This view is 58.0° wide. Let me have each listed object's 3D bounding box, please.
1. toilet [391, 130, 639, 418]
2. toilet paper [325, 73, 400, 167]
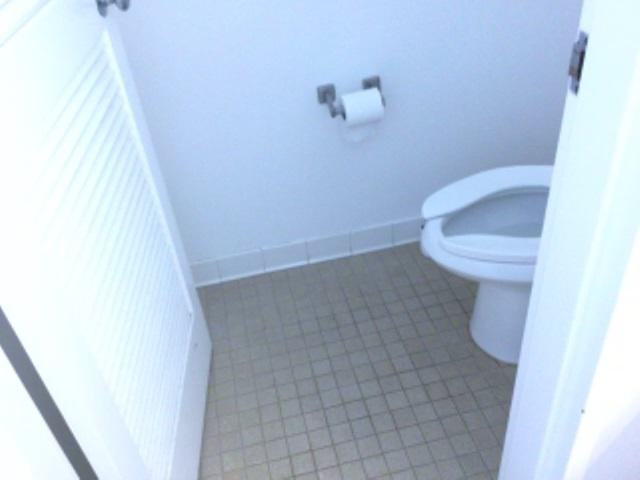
[{"bbox_3d":[0.600,0.070,1.510,0.720,0.460,0.430,-11,36,-6],"label":"toilet"},{"bbox_3d":[0.120,-0.340,1.630,0.170,0.190,0.150,-11,36,-6],"label":"toilet paper"}]
